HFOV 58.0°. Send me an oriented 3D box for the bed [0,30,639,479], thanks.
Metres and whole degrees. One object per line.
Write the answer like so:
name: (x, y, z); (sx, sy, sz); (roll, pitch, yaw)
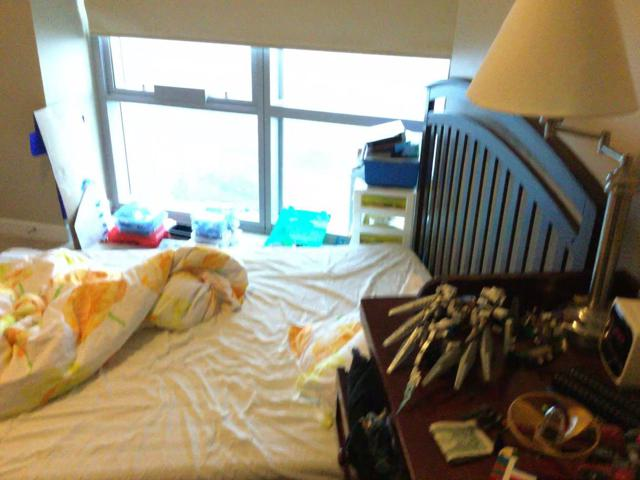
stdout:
bed: (-0.420, 0.100, 1.900); (2.020, 1.260, 1.480); (1, 25, -8)
